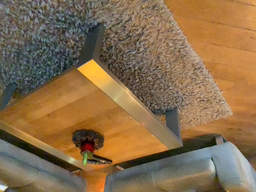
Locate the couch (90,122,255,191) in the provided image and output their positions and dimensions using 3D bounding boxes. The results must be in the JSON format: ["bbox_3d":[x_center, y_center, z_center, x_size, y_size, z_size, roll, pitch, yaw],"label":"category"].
[{"bbox_3d":[0.580,1.210,2.690,1.840,0.810,1.120,-24,133,28],"label":"couch"}]
